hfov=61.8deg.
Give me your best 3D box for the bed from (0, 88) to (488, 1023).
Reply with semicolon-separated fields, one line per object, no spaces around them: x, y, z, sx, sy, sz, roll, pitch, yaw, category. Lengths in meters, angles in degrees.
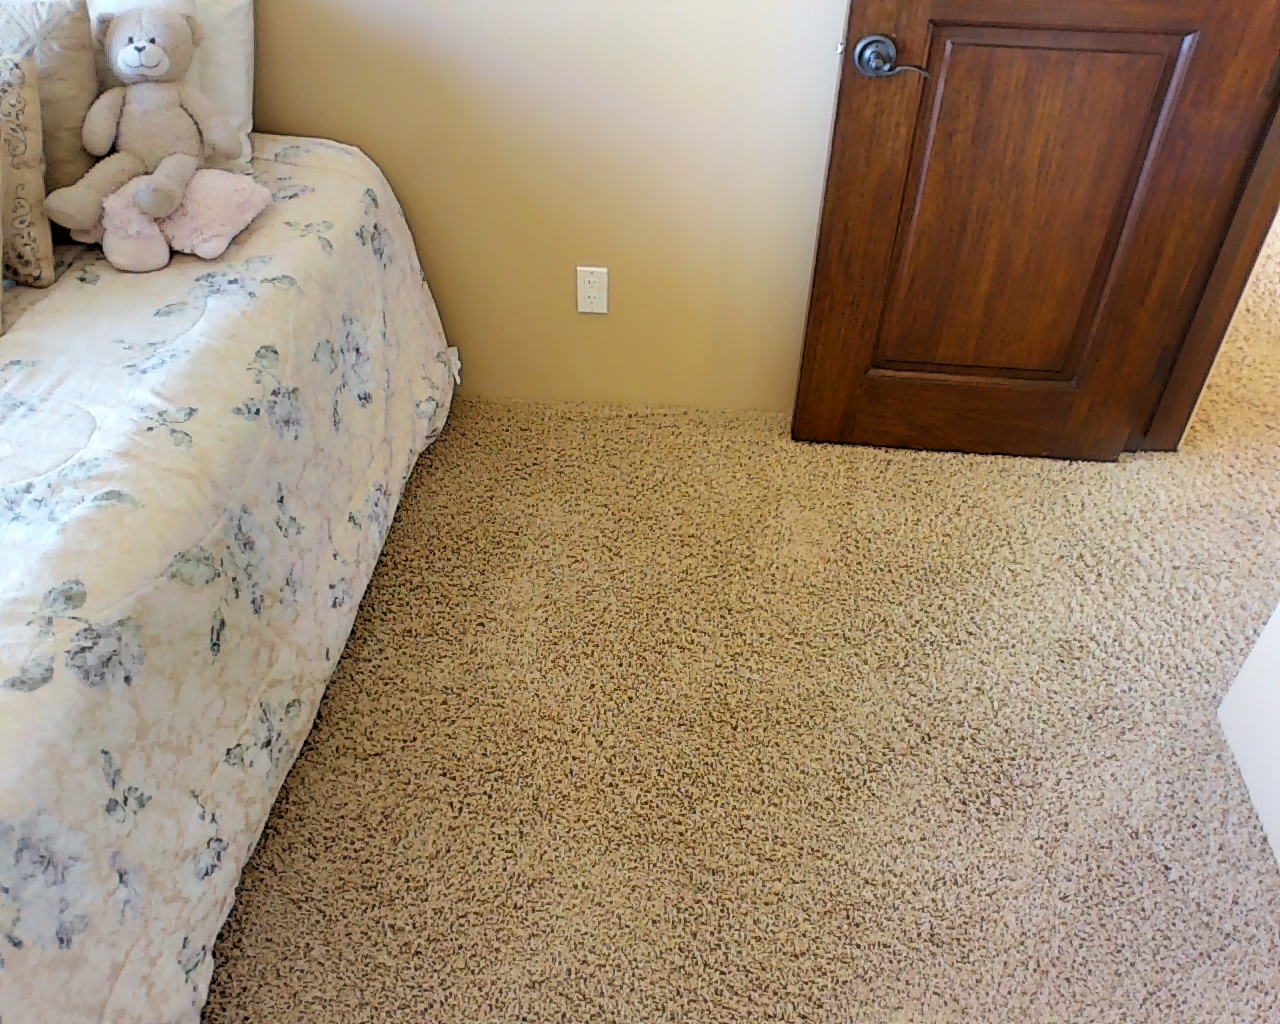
-1.261;0.040;1.720;1.601;0.670;2.070;4;41;3;bed
